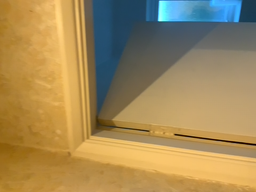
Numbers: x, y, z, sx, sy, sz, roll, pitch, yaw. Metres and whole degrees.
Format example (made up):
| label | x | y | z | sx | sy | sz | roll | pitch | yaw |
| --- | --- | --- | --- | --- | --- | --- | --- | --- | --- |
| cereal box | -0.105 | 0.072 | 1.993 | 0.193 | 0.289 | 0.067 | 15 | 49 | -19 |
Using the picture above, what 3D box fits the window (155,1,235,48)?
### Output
| label | x | y | z | sx | sy | sz | roll | pitch | yaw |
| --- | --- | --- | --- | --- | --- | --- | --- | --- | --- |
| window | 0.720 | -0.800 | 2.370 | 0.040 | 0.800 | 0.480 | -53 | -33 | -68 |
